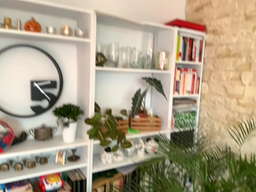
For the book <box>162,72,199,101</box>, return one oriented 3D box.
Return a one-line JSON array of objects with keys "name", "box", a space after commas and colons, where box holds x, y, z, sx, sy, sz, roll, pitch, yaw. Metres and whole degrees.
[{"name": "book", "box": [0.530, -0.100, 2.150, 0.310, 0.280, 0.170, -1, 7, -26]}]
